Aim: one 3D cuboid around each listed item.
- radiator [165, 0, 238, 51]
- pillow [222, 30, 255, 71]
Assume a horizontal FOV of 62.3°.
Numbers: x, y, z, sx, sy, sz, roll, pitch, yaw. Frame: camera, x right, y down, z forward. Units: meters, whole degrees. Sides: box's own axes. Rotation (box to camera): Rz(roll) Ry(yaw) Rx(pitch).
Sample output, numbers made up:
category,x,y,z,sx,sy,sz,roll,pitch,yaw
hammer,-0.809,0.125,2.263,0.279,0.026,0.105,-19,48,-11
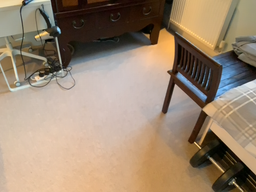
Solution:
category,x,y,z,sx,sy,sz,roll,pitch,yaw
radiator,0.770,-0.970,2.380,0.140,0.580,0.800,-19,49,-23
pillow,1.020,-0.380,1.720,0.320,0.120,0.320,-19,49,-23
